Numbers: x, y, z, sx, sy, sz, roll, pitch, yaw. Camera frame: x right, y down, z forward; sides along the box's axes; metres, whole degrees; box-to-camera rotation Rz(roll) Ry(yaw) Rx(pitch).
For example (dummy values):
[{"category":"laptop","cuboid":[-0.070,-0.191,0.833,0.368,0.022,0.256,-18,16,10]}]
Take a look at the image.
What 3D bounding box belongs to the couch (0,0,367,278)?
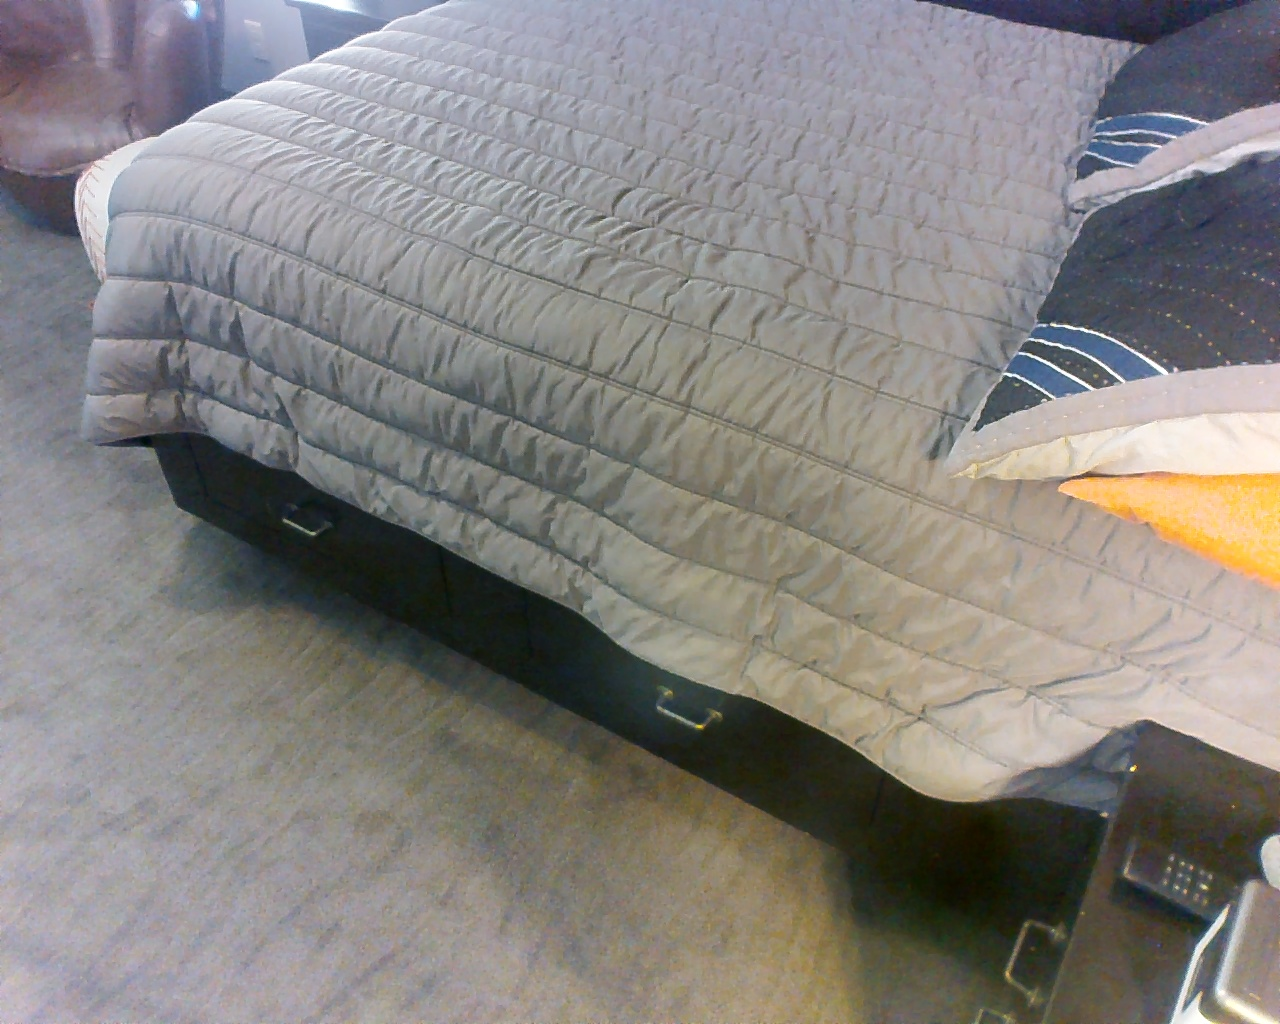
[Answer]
[{"category":"couch","cuboid":[-1.490,-1.250,3.060,0.970,0.630,0.890,14,45,14]}]
